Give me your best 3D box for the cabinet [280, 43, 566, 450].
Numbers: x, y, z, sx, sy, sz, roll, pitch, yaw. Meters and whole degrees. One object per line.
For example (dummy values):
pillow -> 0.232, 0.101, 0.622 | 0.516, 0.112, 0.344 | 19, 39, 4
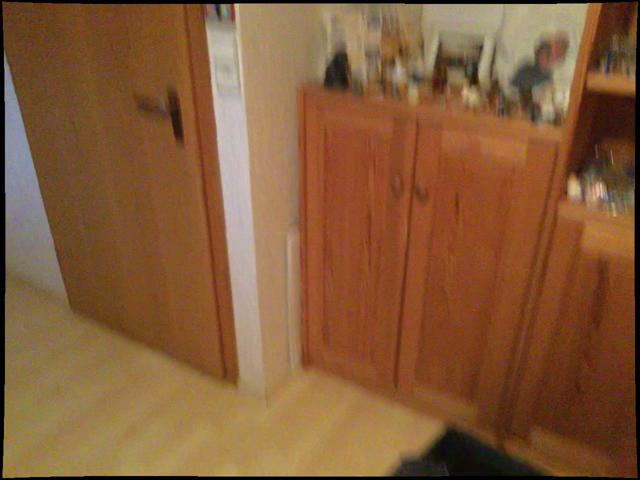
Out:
cabinet -> 0.240, 0.030, 1.780 | 0.710, 1.111, 0.220 | 18, 33, 27

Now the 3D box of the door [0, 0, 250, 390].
door -> -0.709, -0.521, 1.820 | 1.069, 2.042, 0.070 | 18, 33, 27

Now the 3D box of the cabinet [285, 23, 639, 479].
cabinet -> 0.989, 0.200, 1.480 | 2.358, 1.161, 0.370 | 18, 33, 27
